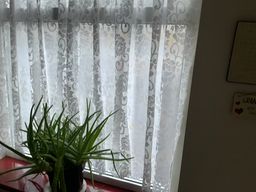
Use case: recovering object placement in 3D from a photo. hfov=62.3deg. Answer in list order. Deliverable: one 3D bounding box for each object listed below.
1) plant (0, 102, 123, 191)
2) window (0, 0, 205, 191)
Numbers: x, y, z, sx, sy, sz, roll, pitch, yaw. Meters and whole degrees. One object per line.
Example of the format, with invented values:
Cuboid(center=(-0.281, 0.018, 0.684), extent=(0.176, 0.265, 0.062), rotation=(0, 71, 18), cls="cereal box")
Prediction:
Cuboid(center=(-0.310, 0.300, 0.950), extent=(0.510, 0.440, 0.230), rotation=(7, 14, 16), cls="plant")
Cuboid(center=(-0.220, -0.110, 0.950), extent=(0.990, 1.250, 0.050), rotation=(8, 15, 18), cls="window")
